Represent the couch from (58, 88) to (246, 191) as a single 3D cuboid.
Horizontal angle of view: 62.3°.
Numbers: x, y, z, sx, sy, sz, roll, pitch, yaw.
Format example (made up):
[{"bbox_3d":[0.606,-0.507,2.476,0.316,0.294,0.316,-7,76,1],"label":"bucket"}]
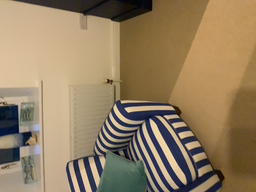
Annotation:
[{"bbox_3d":[0.070,0.600,1.710,0.950,0.830,0.910,-55,50,39],"label":"couch"}]
